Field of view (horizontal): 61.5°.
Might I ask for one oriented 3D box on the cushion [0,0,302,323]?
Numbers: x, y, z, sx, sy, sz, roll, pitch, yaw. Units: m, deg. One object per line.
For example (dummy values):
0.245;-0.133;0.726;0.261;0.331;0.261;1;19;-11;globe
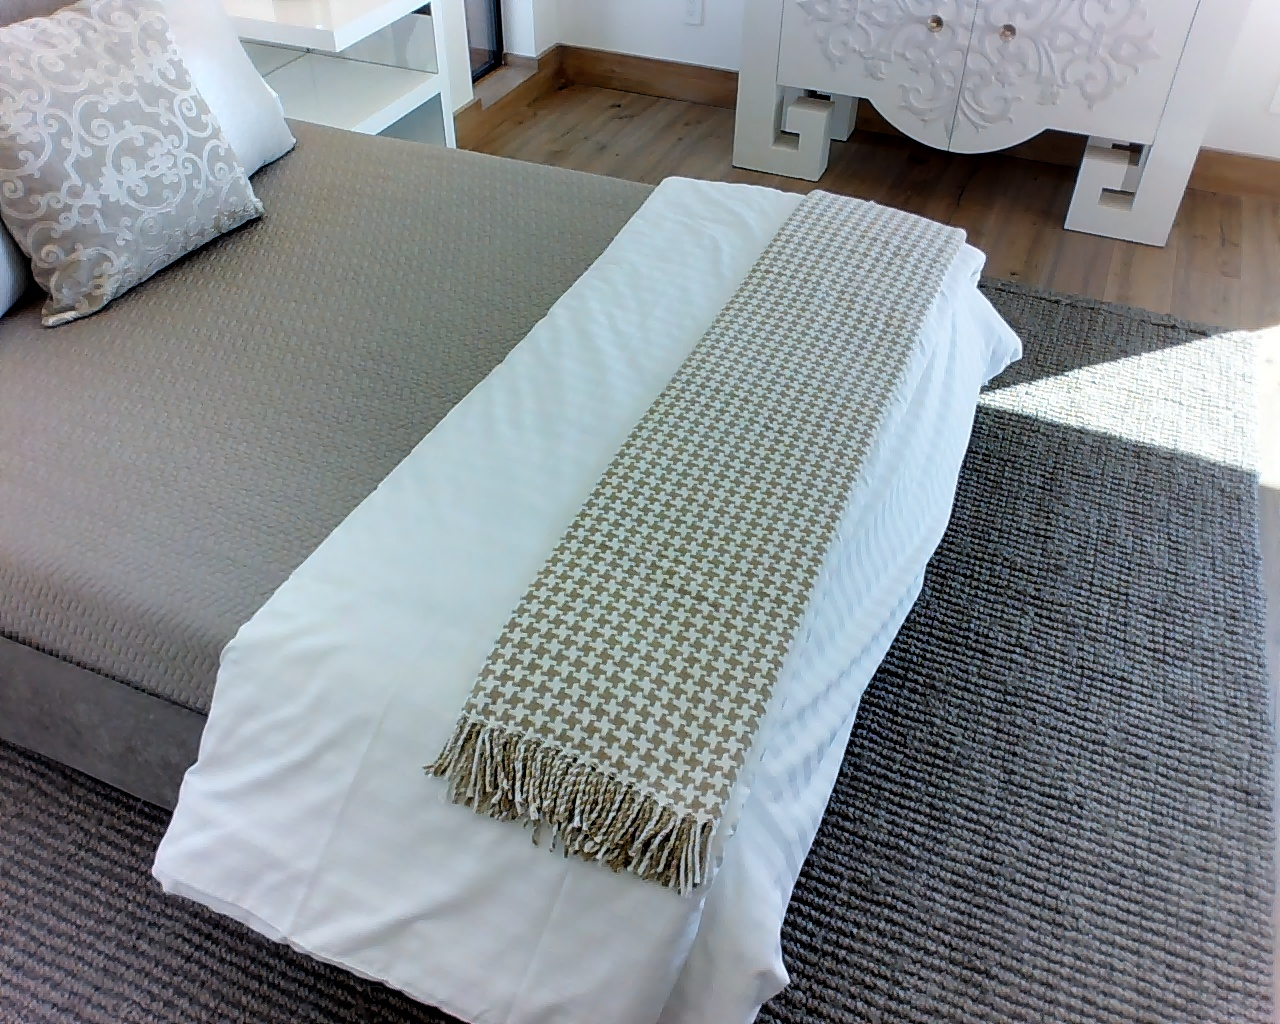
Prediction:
-1.010;-0.750;2.050;0.330;0.490;0.580;17;44;17;cushion
